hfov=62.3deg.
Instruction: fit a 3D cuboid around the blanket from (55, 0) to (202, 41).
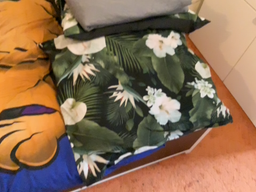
[{"bbox_3d":[-0.060,-0.550,1.020,0.580,0.150,0.580,-12,58,-18],"label":"blanket"}]
